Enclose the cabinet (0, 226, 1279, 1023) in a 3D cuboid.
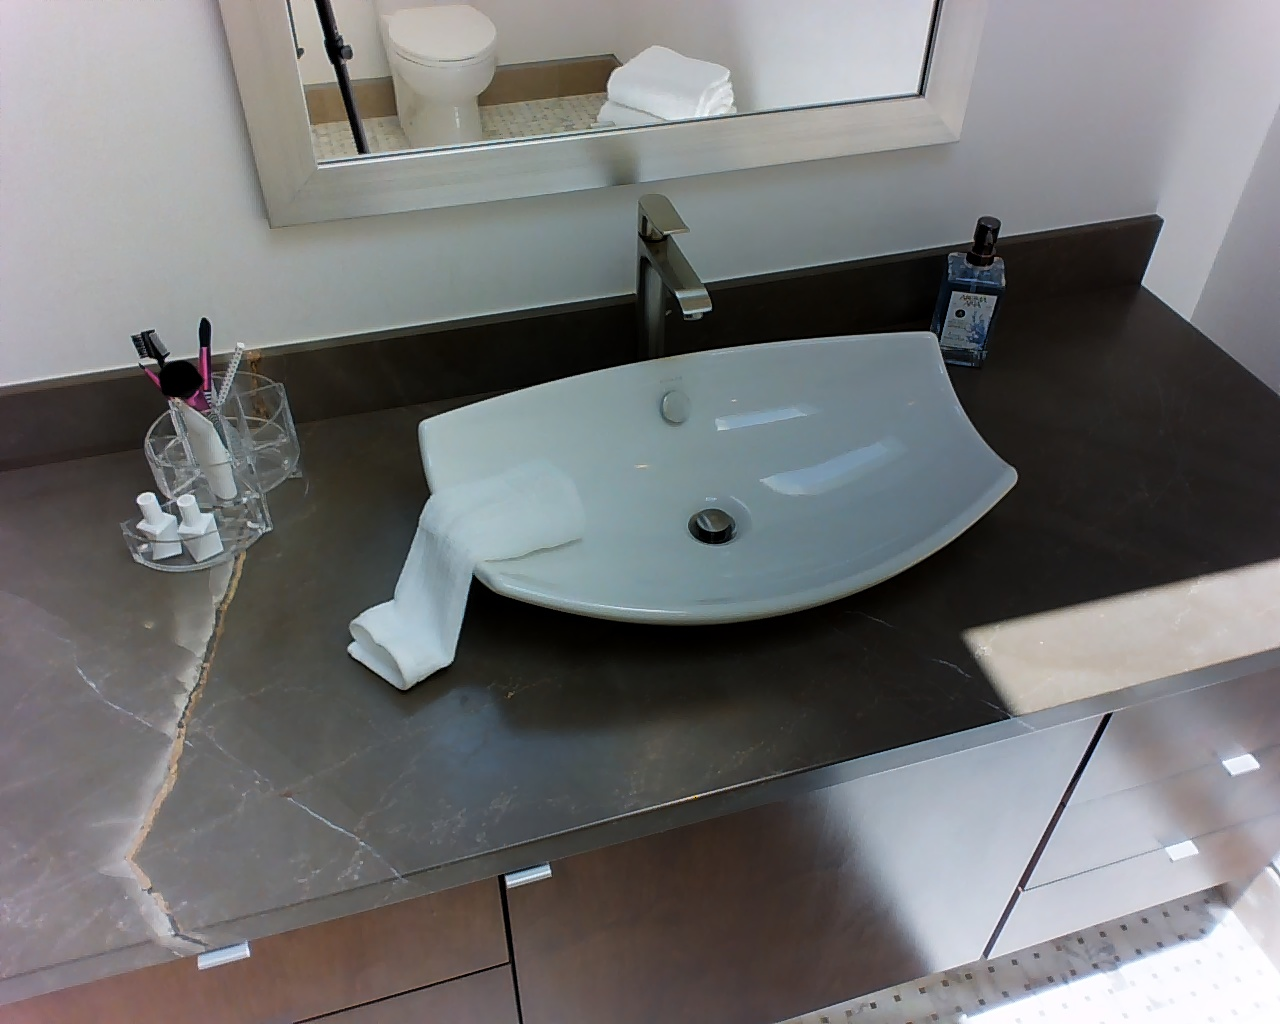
[{"bbox_3d":[0.110,0.320,1.440,1.620,0.970,0.670,-11,44,-13],"label":"cabinet"}]
